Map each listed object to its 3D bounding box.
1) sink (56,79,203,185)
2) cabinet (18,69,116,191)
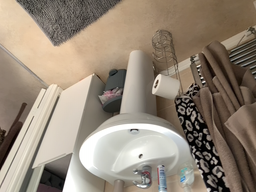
[{"bbox_3d":[0.010,0.230,1.090,0.570,0.170,0.430,-25,127,23],"label":"sink"},{"bbox_3d":[-0.380,0.520,1.280,0.380,1.650,0.320,-25,127,23],"label":"cabinet"}]
